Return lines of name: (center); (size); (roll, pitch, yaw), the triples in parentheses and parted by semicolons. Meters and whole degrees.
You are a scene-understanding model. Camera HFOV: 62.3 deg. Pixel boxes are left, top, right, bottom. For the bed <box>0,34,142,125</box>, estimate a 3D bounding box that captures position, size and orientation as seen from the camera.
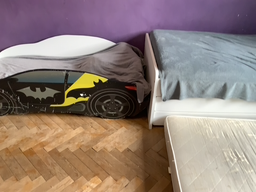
bed: (-0.730, -0.210, 2.160); (1.610, 0.540, 0.880); (0, 35, -5)
